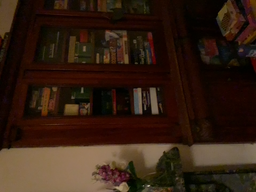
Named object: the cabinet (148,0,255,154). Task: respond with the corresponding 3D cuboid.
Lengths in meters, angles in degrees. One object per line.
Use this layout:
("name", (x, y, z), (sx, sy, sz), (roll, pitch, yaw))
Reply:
("cabinet", (0.830, -0.380, 2.130), (0.460, 0.990, 1.780), (108, 161, -61))

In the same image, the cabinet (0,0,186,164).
("cabinet", (-0.350, -0.370, 2.000), (0.350, 1.400, 1.850), (108, 161, -61))
